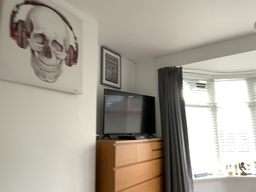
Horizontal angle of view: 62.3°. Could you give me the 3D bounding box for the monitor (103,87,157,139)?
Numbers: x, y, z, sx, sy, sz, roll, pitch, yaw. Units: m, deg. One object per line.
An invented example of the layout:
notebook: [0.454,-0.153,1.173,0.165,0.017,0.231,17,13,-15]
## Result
monitor: [0.070,0.260,2.930,0.040,0.620,1.010,-11,-14,44]
